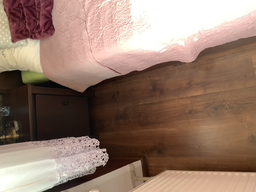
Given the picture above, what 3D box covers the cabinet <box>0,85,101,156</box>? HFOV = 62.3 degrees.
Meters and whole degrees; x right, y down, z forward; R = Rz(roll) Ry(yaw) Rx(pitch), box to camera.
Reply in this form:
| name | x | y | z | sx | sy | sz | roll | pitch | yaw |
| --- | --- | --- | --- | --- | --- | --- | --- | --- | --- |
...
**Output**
| name | x | y | z | sx | sy | sz | roll | pitch | yaw |
| --- | --- | --- | --- | --- | --- | --- | --- | --- | --- |
| cabinet | -0.590 | 0.190 | 1.680 | 0.380 | 0.640 | 0.440 | -12 | 81 | 34 |
